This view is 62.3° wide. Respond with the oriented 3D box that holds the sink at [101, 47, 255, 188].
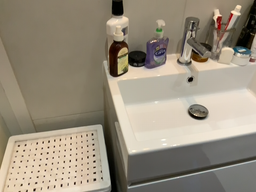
[{"bbox_3d":[0.240,0.020,0.730,0.610,0.160,0.420,-7,40,-10],"label":"sink"}]
